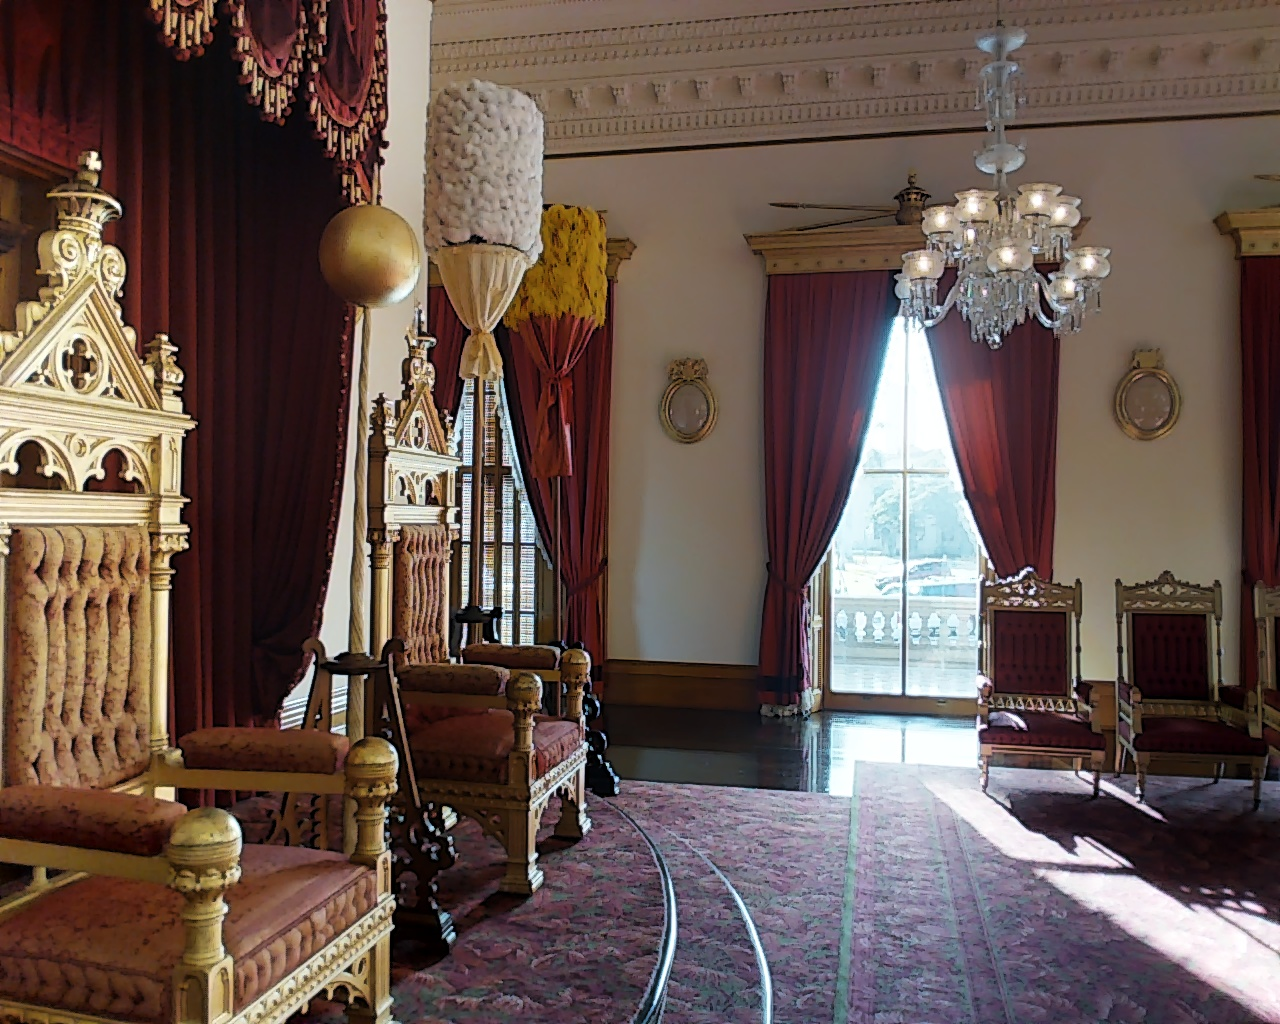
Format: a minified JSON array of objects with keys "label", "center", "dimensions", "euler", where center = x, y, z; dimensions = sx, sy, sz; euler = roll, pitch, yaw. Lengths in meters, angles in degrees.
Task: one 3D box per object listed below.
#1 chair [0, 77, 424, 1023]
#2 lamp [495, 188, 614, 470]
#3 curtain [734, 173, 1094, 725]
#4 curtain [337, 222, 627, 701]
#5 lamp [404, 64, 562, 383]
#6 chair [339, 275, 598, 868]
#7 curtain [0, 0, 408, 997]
[{"label":"chair","center":[-0.960,0.190,2.270],"dimensions":[0.700,1.860,0.780],"euler":[1,0,12]},{"label":"lamp","center":[-0.510,-1.020,6.260],"dimensions":[0.600,1.520,0.590],"euler":[1,0,-10]},{"label":"curtain","center":[2.090,-0.500,8.400],"dimensions":[2.640,4.151,0.050],"euler":[1,0,13]},{"label":"curtain","center":[-1.380,-0.440,9.290],"dimensions":[2.460,3.961,0.300],"euler":[1,0,13]},{"label":"lamp","center":[-0.720,-1.280,4.970],"dimensions":[0.430,1.290,0.560],"euler":[1,0,35]},{"label":"chair","center":[-0.600,0.190,3.980],"dimensions":[0.680,1.950,0.760],"euler":[1,0,12]},{"label":"curtain","center":[-1.730,-1.030,3.340],"dimensions":[0.690,4.431,3.170],"euler":[1,0,12]}]
